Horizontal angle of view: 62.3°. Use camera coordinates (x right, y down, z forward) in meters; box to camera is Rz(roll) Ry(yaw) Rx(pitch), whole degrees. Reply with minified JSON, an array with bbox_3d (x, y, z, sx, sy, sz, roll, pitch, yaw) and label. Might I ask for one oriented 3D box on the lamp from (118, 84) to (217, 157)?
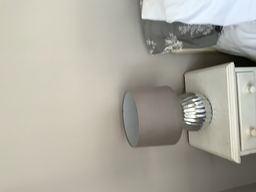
[{"bbox_3d":[0.170,0.090,1.010,0.290,0.360,0.270,-178,84,-74],"label":"lamp"}]
